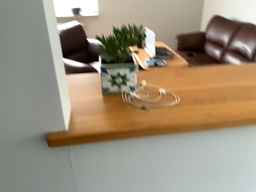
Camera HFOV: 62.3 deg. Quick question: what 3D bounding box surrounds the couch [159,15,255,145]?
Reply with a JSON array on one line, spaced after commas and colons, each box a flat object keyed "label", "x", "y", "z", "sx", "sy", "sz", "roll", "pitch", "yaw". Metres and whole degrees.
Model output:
[{"label": "couch", "x": 1.350, "y": -0.490, "z": 3.050, "sx": 1.120, "sy": 0.980, "sz": 2.270, "roll": -5, "pitch": 28, "yaw": -8}]

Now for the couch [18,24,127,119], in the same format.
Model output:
[{"label": "couch", "x": -0.670, "y": -0.450, "z": 3.060, "sx": 0.950, "sy": 0.930, "sz": 1.120, "roll": 11, "pitch": 30, "yaw": 20}]
